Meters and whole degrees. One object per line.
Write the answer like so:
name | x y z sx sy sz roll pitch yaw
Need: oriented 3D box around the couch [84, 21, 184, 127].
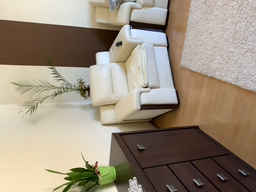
couch | -0.020 -0.210 2.810 1.020 0.880 1.010 142 123 -63
